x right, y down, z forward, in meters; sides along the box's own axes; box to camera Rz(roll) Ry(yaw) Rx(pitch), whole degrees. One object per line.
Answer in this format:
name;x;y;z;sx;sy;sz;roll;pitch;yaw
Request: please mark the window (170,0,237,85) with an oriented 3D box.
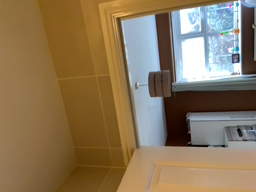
window;1.380;-1.110;3.890;0.210;1.080;1.760;-47;-49;-66
